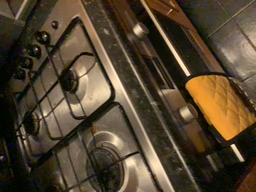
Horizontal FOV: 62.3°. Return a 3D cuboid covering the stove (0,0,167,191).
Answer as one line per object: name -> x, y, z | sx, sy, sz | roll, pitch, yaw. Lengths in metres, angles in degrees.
stove -> -0.220, 0.110, 0.580 | 0.540, 0.040, 0.610 | -39, 68, 33
